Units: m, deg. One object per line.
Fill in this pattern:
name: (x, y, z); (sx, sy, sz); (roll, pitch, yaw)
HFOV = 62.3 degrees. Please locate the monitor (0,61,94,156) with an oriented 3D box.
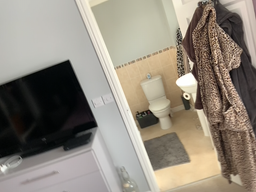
monitor: (-0.890, 0.150, 1.790); (1.060, 0.560, 0.070); (-19, 16, 4)

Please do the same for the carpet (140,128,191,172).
carpet: (0.470, 0.710, 2.940); (0.540, 0.040, 0.800); (-20, 16, 2)

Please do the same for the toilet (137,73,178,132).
toilet: (0.480, 0.090, 3.590); (0.390, 0.790, 0.550); (-19, 16, 3)
